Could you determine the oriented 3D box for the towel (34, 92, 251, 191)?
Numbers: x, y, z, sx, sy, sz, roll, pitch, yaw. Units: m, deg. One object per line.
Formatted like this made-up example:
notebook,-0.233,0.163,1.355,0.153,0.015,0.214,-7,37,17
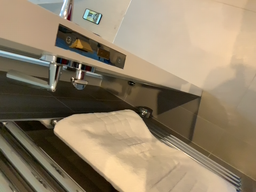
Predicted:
towel,0.090,0.140,0.570,0.420,0.480,0.090,31,101,26
